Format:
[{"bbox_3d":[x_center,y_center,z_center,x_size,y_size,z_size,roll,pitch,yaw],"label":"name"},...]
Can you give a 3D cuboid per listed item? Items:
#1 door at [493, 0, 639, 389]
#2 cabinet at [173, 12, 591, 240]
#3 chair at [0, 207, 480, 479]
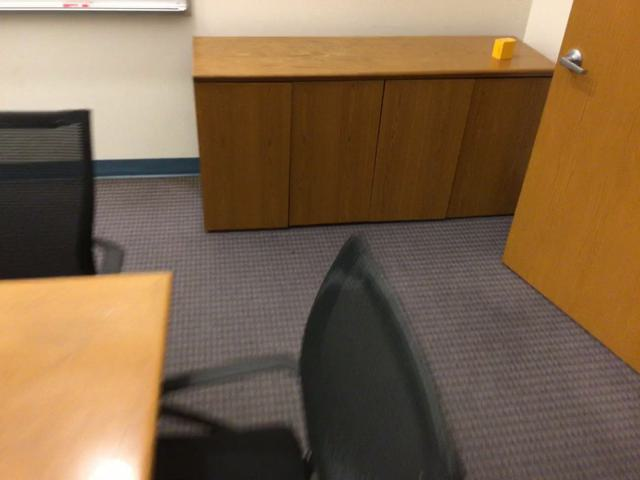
[{"bbox_3d":[0.990,-0.490,1.600,0.100,1.940,0.990,-12,36,-18],"label":"door"},{"bbox_3d":[0.220,-0.530,2.640,1.580,0.820,0.580,-2,36,-5],"label":"cabinet"},{"bbox_3d":[-0.200,0.520,1.030,0.630,0.910,0.630,-6,34,-10],"label":"chair"}]
